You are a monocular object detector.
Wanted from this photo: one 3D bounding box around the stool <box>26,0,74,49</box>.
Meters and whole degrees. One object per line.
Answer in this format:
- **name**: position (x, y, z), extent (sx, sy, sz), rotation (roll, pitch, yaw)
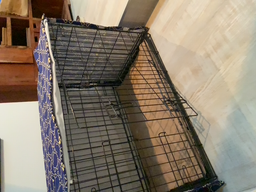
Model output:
- **stool**: position (-0.920, -0.900, 2.450), extent (0.540, 0.430, 0.440), rotation (-51, 49, 52)
